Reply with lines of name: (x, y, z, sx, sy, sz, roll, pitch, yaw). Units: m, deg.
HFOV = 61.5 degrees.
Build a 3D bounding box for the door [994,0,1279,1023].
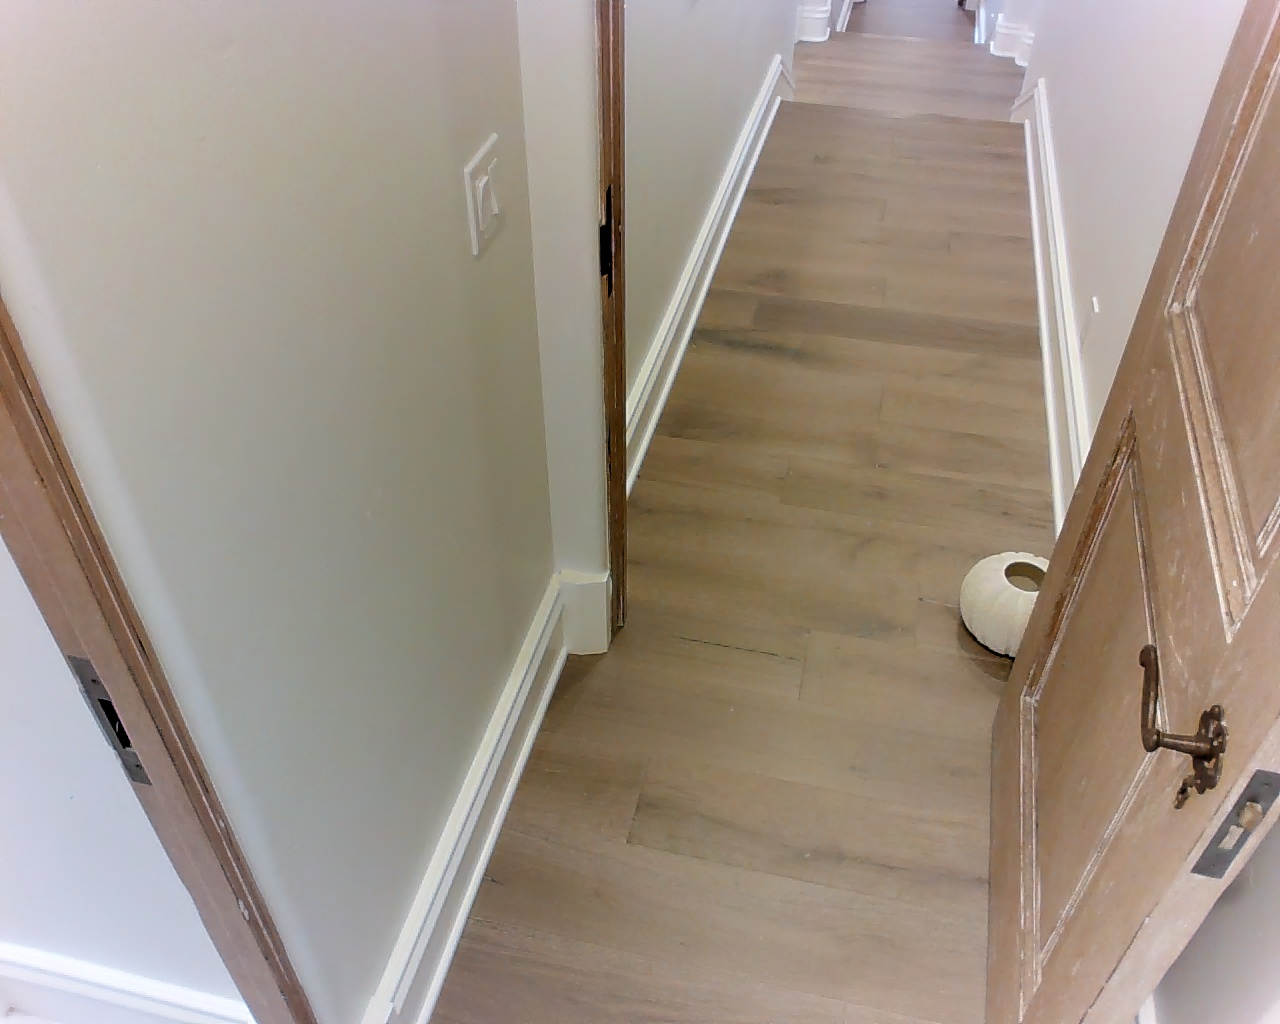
door: (0.630, -0.270, 0.980, 0.100, 2.450, 0.920, 9, 43, 11)
